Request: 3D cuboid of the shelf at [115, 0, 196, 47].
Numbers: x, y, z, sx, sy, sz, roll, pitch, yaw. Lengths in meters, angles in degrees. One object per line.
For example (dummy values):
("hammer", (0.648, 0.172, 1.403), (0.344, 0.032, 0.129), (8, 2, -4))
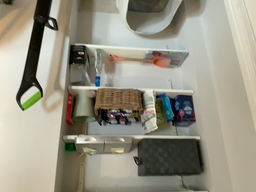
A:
("shelf", (0.150, -0.720, 1.450), (0.430, 0.490, 0.570), (1, 158, -7))
